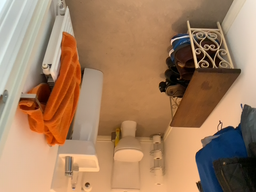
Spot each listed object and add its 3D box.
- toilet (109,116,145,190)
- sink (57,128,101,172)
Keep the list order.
[{"bbox_3d":[-0.030,0.760,2.780,0.390,0.770,0.670,2,148,-3],"label":"toilet"},{"bbox_3d":[-0.340,0.420,1.580,0.240,0.170,0.490,2,148,-3],"label":"sink"}]
